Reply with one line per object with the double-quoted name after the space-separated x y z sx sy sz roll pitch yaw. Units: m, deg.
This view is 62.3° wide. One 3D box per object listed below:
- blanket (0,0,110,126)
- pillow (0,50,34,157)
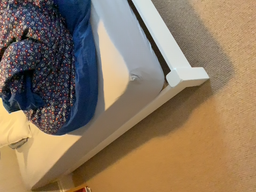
-0.570 -0.300 1.080 0.860 0.390 0.820 -17 83 49 "blanket"
-1.110 0.070 1.880 0.510 0.220 0.790 -44 64 43 "pillow"
